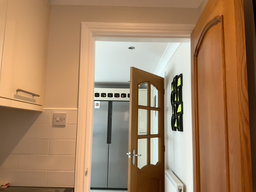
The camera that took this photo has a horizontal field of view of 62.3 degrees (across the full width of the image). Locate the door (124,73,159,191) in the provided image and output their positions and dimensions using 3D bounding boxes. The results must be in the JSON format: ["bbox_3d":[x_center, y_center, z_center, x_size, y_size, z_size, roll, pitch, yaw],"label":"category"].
[{"bbox_3d":[0.190,0.740,2.590,0.070,1.940,0.670,-4,-9,35],"label":"door"}]
